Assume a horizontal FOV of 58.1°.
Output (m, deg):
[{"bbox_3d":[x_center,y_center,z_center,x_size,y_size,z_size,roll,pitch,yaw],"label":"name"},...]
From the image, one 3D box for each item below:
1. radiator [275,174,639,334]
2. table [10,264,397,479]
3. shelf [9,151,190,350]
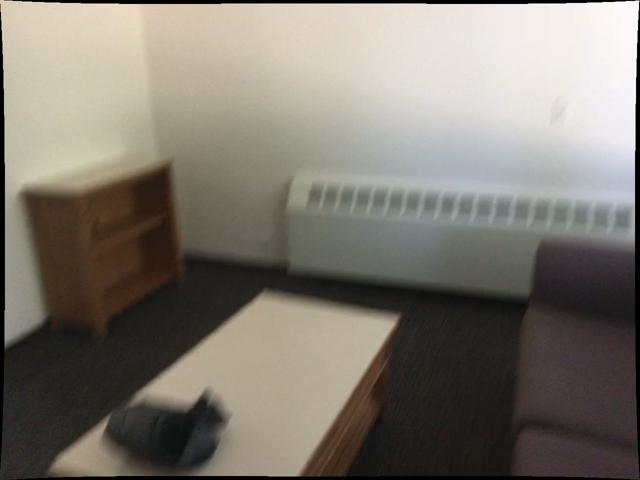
[{"bbox_3d":[0.789,0.050,2.990,2.107,0.641,0.170,6,21,17],"label":"radiator"},{"bbox_3d":[-0.200,0.561,1.760,0.659,0.541,1.100,5,21,17],"label":"table"},{"bbox_3d":[-1.068,0.000,2.990,0.320,0.751,0.870,6,21,17],"label":"shelf"}]
